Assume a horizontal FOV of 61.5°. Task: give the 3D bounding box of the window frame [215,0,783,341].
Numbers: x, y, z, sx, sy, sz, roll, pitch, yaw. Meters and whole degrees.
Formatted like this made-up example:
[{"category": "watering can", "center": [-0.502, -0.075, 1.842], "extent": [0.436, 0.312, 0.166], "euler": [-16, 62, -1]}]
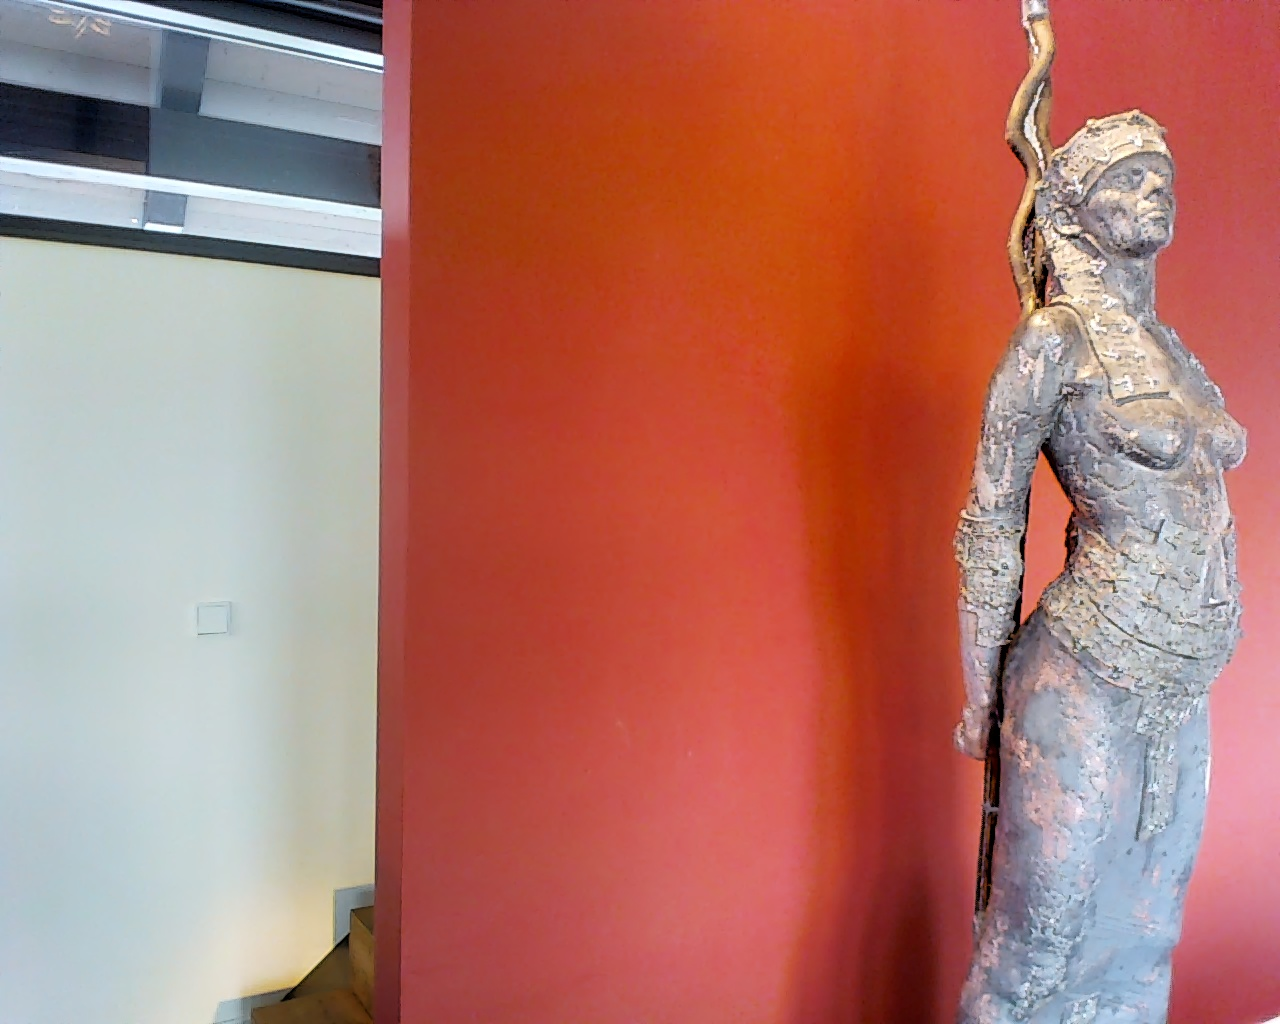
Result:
[{"category": "window frame", "center": [-0.300, -0.910, 2.950], "extent": [1.600, 0.730, 0.170], "euler": [0, 2, -31]}]
